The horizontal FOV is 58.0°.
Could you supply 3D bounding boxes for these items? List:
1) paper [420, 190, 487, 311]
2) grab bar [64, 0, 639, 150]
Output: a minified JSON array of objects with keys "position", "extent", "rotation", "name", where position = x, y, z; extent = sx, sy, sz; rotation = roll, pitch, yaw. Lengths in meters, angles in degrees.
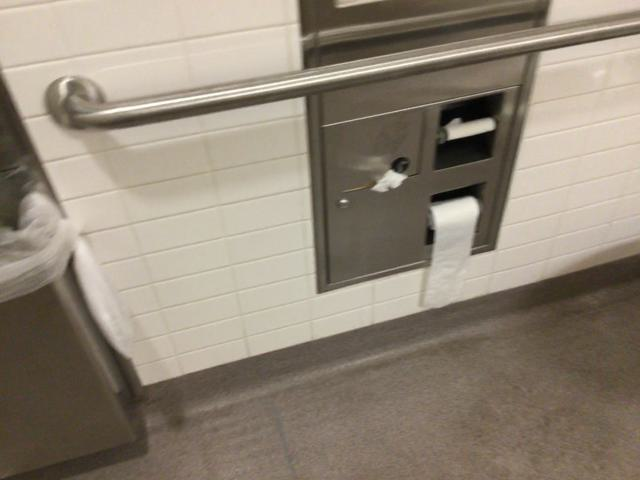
[{"position":[0.290,0.030,1.280],"extent":[0.110,0.290,0.050],"rotation":[-13,43,-9],"name":"paper"},{"position":[0.230,-0.300,0.890],"extent":[1.190,0.050,0.080],"rotation":[-13,43,-9],"name":"grab bar"}]
